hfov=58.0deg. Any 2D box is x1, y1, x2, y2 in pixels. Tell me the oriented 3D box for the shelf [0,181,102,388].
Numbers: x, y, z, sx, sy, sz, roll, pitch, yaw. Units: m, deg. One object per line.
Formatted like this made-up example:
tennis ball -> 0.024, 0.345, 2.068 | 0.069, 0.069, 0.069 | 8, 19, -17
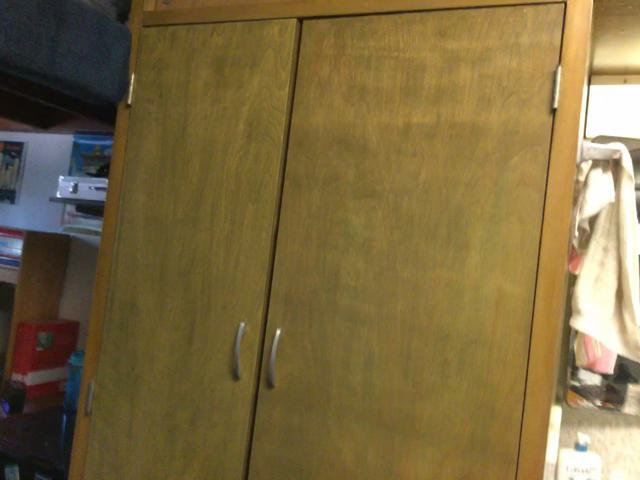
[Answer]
shelf -> -1.570, 0.150, 2.570 | 1.130, 0.780, 0.340 | 3, -4, 24
